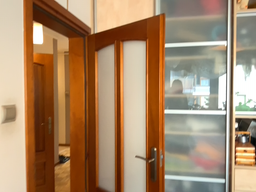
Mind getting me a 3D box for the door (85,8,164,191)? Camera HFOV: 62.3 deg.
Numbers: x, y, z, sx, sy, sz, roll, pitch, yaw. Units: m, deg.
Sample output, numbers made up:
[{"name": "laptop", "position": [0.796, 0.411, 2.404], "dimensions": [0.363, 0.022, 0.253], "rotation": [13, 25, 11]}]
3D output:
[{"name": "door", "position": [-0.070, 0.460, 1.730], "dimensions": [0.760, 2.090, 0.130], "rotation": [2, 3, 43]}]
